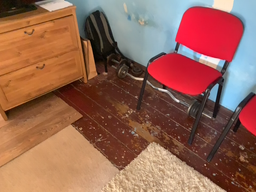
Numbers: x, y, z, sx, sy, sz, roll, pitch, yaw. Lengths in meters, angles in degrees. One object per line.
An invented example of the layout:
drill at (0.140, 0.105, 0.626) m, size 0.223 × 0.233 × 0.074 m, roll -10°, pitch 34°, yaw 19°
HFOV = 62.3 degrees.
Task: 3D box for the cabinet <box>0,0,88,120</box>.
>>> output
cabinet at (-0.890, -0.390, 1.930) m, size 0.840 × 0.800 × 0.470 m, roll -29°, pitch 49°, yaw -32°
